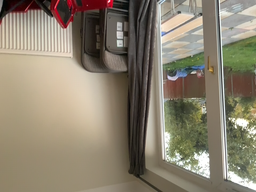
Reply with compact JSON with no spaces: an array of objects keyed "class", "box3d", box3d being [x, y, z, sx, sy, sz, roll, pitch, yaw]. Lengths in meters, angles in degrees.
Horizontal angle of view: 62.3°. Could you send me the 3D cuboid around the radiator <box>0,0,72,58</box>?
[{"class":"radiator","box3d":[-1.300,-0.720,2.080,1.430,0.610,0.120,-1,178,-22]}]
